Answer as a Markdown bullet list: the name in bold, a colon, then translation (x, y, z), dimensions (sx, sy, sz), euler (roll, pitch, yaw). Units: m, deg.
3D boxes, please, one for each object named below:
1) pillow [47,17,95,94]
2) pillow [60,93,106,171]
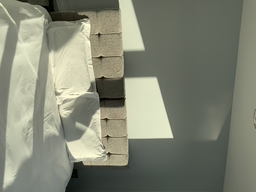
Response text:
- **pillow**: translation (-0.560, -0.410, 2.150), dimensions (0.150, 0.410, 0.720), euler (-142, -131, -60)
- **pillow**: translation (-0.490, 0.410, 2.390), dimensions (0.100, 0.450, 0.860), euler (-133, -140, -64)
